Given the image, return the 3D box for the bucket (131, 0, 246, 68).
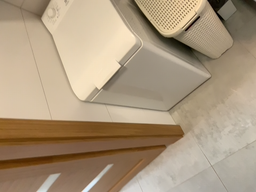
[{"bbox_3d":[0.340,-0.550,1.320,0.290,0.690,0.560,-43,59,27],"label":"bucket"}]
